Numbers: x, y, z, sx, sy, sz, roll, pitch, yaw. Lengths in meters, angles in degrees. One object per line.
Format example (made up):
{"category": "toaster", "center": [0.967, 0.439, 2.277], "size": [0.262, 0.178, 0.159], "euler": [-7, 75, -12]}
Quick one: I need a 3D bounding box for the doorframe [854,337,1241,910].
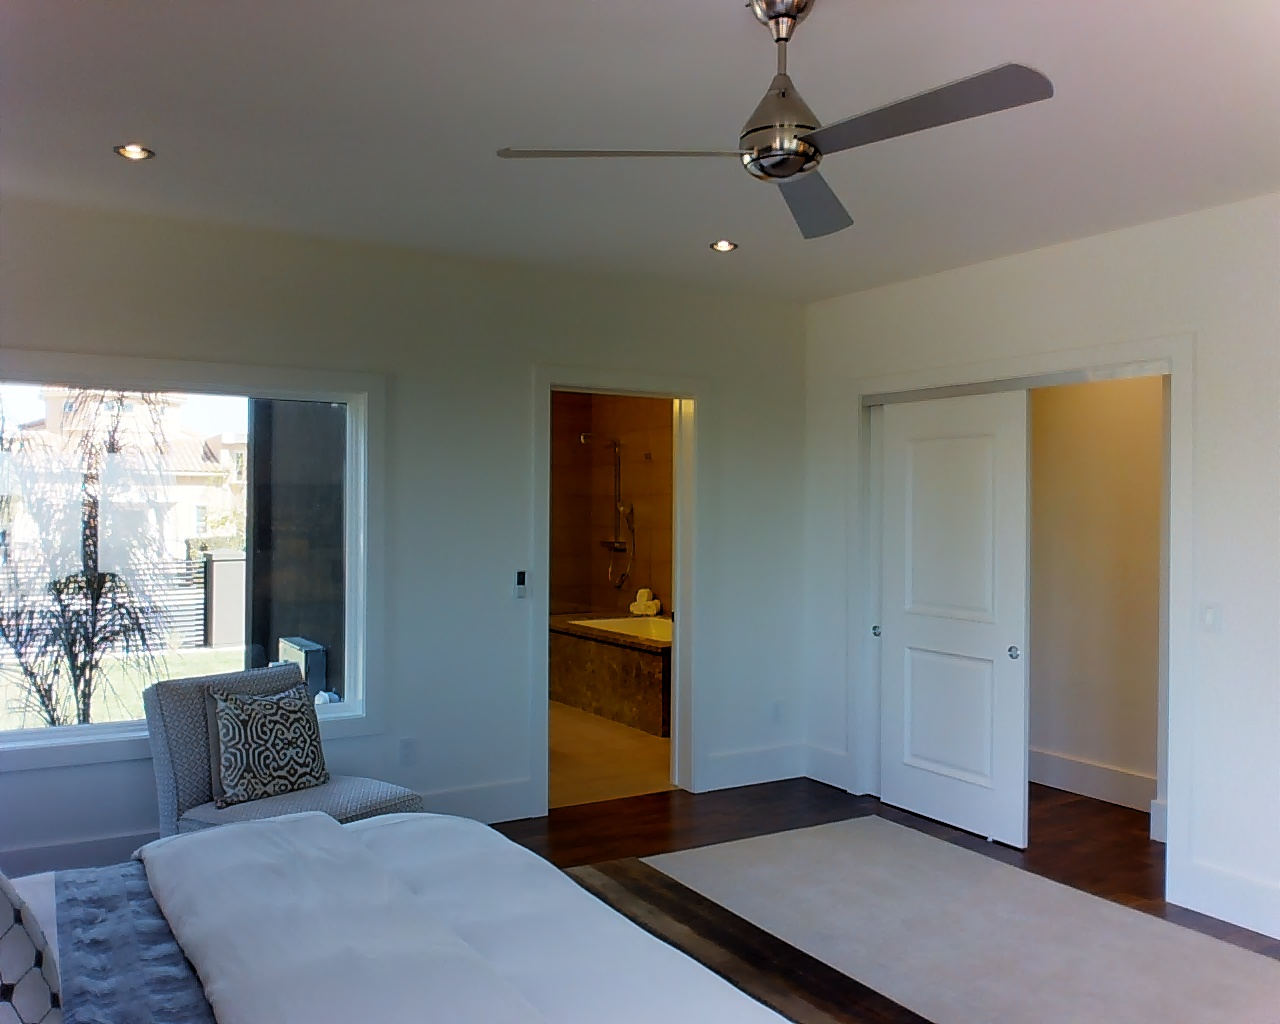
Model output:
{"category": "doorframe", "center": [1.800, 0.430, 5.090], "size": [0.320, 2.240, 1.900], "euler": [1, 0, -31]}
